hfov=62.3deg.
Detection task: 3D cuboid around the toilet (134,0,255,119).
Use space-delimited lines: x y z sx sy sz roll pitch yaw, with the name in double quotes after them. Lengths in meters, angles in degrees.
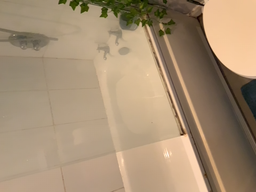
0.500 -0.330 0.960 0.450 0.740 0.690 -34 66 49 "toilet"
